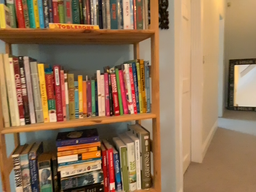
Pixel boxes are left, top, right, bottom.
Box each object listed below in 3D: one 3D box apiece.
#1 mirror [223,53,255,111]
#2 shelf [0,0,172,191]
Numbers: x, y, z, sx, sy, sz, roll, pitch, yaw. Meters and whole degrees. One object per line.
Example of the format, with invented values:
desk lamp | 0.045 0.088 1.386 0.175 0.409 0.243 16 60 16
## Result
mirror | 2.730 -0.340 5.090 0.790 1.290 0.510 1 9 27
shelf | -0.220 0.100 1.090 0.760 1.630 0.400 -5 8 -16
